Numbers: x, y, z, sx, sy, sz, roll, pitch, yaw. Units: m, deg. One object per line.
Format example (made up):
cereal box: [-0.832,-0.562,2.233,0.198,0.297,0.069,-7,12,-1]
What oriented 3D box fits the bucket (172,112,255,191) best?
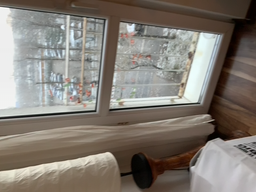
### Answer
bucket: [0.650,0.350,1.040,0.450,0.660,0.350,40,127,53]
